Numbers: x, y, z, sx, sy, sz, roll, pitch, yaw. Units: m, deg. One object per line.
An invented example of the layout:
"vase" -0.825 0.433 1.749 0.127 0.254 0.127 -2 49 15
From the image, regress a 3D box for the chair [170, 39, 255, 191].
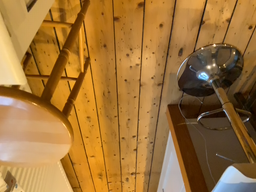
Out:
"chair" 0.520 0.110 1.070 0.380 0.780 0.440 0 134 -4
